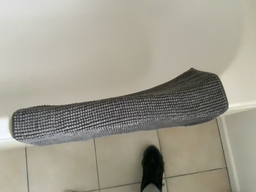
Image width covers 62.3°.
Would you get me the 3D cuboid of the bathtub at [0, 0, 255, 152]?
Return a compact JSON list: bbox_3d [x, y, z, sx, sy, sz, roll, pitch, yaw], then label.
[{"bbox_3d":[-0.400,-0.170,0.850,1.740,0.560,0.730,-7,81,-8],"label":"bathtub"}]
